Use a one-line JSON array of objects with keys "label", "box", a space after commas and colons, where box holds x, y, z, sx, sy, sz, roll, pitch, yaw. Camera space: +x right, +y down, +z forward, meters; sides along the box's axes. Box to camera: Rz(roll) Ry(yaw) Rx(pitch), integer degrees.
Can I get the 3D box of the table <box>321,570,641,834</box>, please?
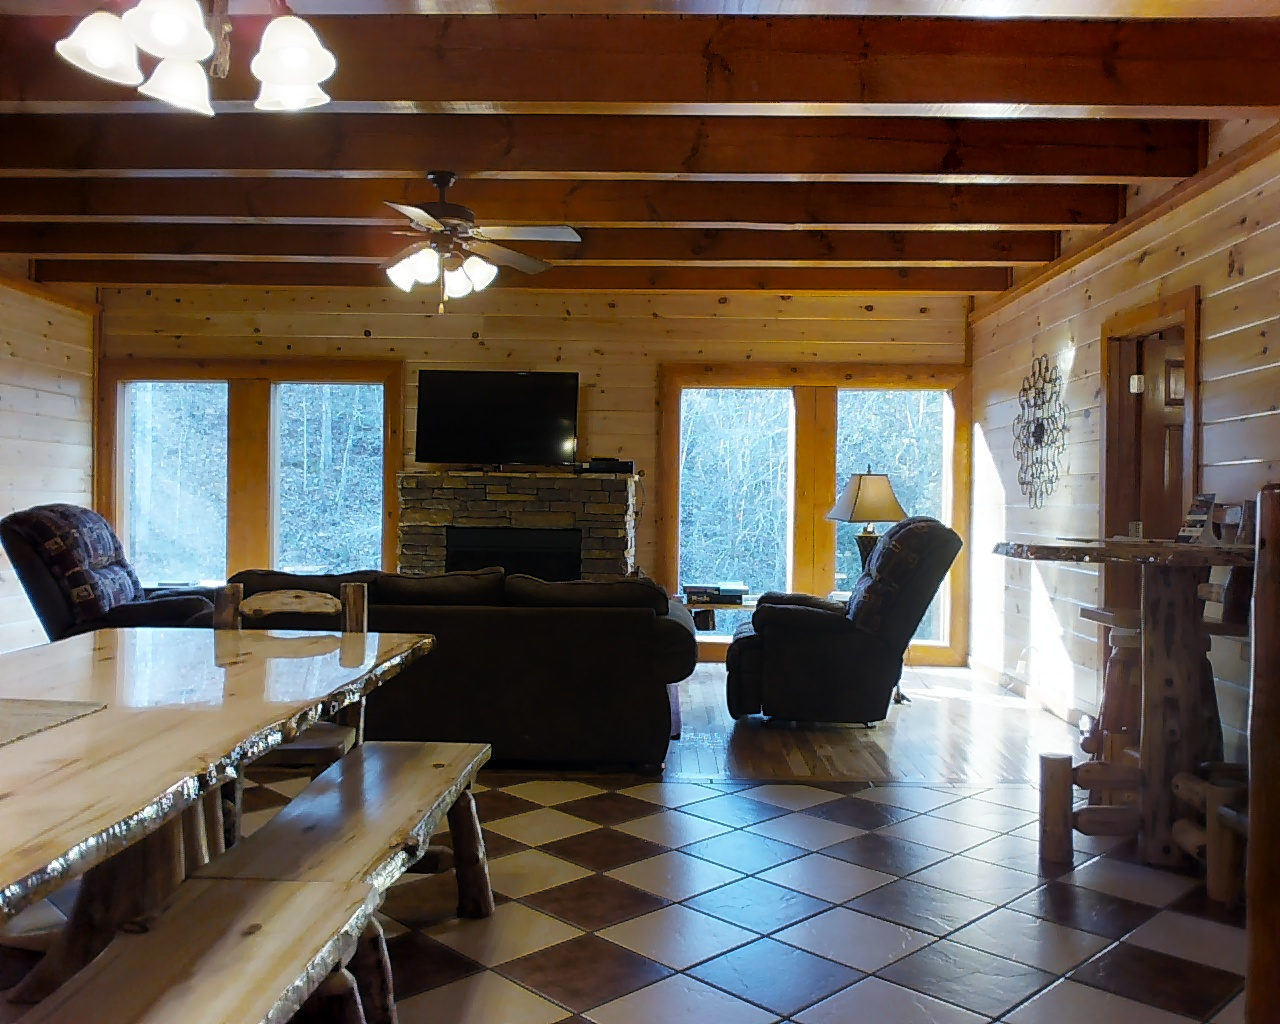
[{"label": "table", "box": [-0.600, 0.790, 5.520, 1.090, 0.770, 2.950, 1, 1, 2]}]
